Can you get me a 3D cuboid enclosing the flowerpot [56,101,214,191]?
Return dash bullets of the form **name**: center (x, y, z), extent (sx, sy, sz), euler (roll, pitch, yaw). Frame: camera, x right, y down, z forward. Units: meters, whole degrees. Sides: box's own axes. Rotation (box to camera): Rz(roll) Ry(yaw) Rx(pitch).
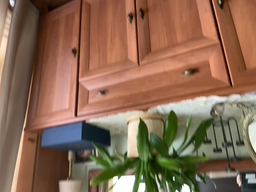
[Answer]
- **flowerpot**: center (0.050, 0.310, 1.060), extent (0.610, 0.350, 0.460), euler (-12, 157, 24)
